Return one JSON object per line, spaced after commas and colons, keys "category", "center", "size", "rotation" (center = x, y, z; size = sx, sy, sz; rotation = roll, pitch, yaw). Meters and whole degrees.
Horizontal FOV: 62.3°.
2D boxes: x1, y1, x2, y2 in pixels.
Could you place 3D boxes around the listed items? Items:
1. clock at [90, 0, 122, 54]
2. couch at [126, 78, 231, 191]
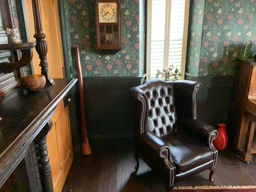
{"category": "clock", "center": [-0.270, -0.870, 2.640], "size": [0.350, 0.660, 0.210], "rotation": [-3, 18, -6]}
{"category": "couch", "center": [0.500, 0.390, 2.420], "size": [0.740, 0.980, 0.830], "rotation": [-9, 19, -24]}
